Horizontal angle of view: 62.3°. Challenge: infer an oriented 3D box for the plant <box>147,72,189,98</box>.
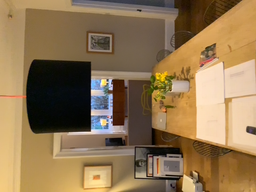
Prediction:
[{"bbox_3d":[0.400,-0.100,2.200,0.360,0.310,0.230,167,103,-79],"label":"plant"}]
